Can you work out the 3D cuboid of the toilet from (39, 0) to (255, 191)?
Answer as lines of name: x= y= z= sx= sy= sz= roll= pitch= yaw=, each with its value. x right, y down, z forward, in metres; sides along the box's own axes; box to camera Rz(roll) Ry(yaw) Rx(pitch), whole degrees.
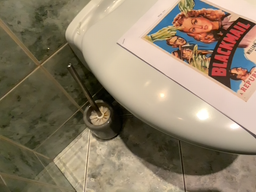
toilet: x=0.150 y=-0.030 z=0.580 sx=0.360 sy=0.460 sz=0.510 roll=-44 pitch=62 yaw=-12
